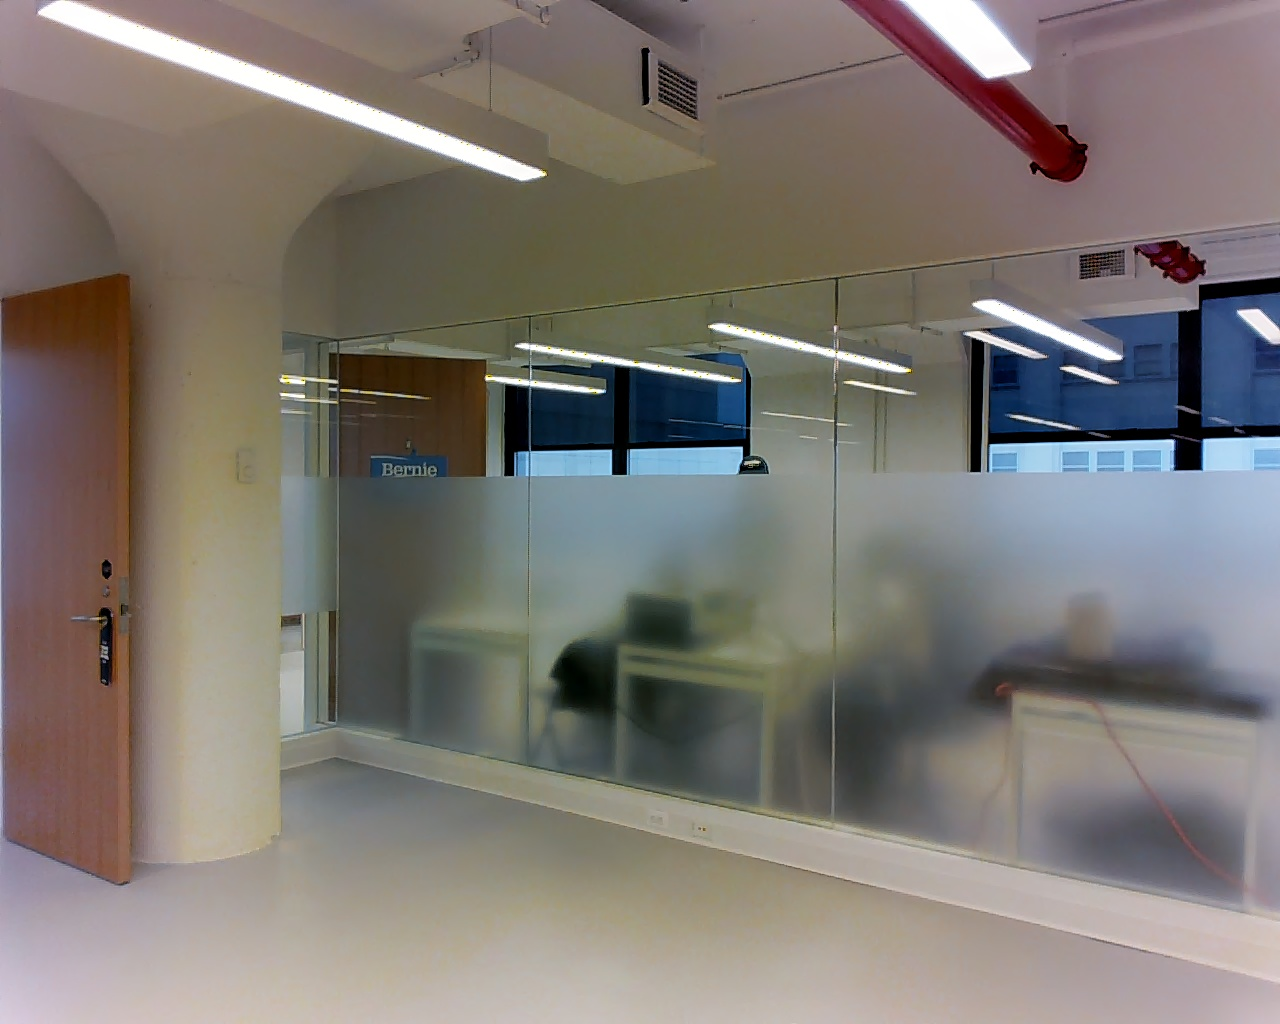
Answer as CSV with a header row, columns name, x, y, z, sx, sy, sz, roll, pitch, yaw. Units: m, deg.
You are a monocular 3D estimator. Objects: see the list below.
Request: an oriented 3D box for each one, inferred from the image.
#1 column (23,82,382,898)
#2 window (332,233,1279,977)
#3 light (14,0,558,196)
name,x,y,z,sx,sy,sz,roll,pitch,yaw
column,-1.830,-0.080,4.520,1.040,2.901,1.000,1,1,36
window,0.810,0.260,3.970,5.929,2.170,0.130,1,1,36
light,-0.650,-0.910,2.320,0.160,0.140,1.260,1,1,36
